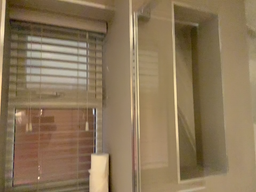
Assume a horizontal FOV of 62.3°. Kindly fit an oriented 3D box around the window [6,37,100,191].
[{"bbox_3d":[-0.410,0.130,1.230,0.480,0.880,0.070,2,-6,-22],"label":"window"}]
